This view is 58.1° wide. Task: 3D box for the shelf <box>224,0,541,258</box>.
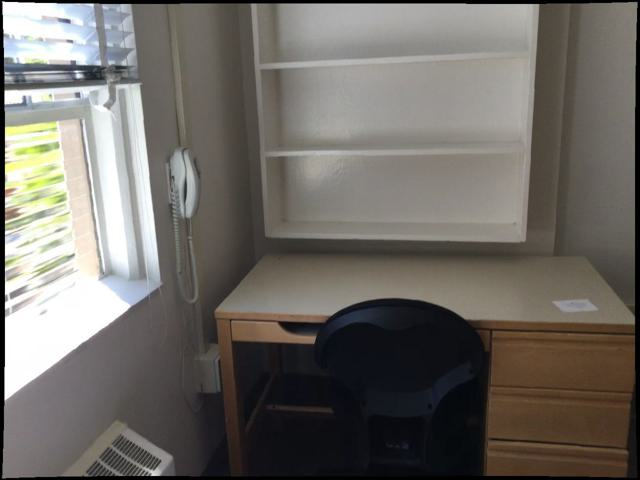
[{"bbox_3d":[0.229,-0.531,2.120,1.037,1.163,0.280,-1,18,12],"label":"shelf"}]
